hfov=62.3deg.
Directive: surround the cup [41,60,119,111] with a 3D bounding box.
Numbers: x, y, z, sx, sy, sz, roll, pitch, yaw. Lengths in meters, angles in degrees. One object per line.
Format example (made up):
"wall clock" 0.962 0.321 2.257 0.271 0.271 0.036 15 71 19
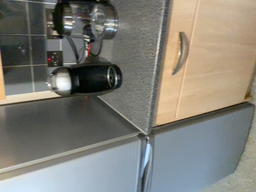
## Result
"cup" -0.210 -0.060 0.940 0.160 0.290 0.150 34 124 48
